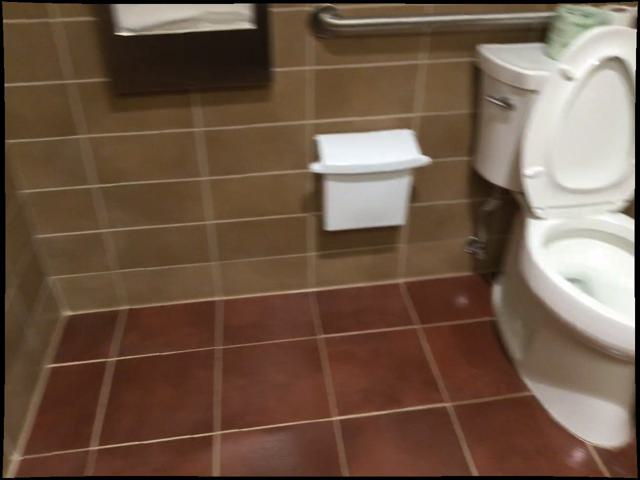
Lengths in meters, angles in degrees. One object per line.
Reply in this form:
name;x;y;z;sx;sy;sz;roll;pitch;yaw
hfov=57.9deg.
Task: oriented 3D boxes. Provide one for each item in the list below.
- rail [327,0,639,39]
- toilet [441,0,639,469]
rail;0.440;-0.571;1.460;0.839;0.050;0.090;-5;36;-6
toilet;0.669;-0.060;1.430;0.420;0.861;0.780;-5;36;-6
